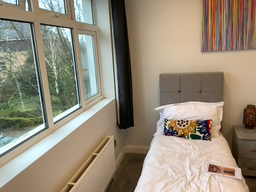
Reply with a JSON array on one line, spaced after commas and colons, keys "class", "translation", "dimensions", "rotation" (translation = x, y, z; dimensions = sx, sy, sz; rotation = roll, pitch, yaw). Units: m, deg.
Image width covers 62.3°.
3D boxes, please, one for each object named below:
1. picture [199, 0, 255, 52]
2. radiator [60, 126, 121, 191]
[{"class": "picture", "translation": [1.450, -0.950, 2.420], "dimensions": [1.190, 0.810, 0.050], "rotation": [0, 14, 14]}, {"class": "radiator", "translation": [-0.330, 0.850, 1.970], "dimensions": [0.080, 0.560, 1.670], "rotation": [0, 14, 13]}]
